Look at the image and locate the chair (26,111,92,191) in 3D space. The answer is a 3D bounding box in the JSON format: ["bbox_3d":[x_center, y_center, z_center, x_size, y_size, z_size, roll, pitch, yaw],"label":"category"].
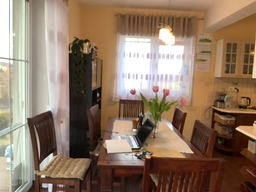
[{"bbox_3d":[-0.700,0.690,2.230,0.520,0.960,0.460,3,6,1],"label":"chair"}]

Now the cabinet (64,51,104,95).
[{"bbox_3d":[-0.710,-0.400,3.680,0.450,0.610,1.270,3,6,-2],"label":"cabinet"}]

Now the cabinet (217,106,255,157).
[{"bbox_3d":[2.160,0.680,4.190,0.460,0.850,0.590,3,6,-3],"label":"cabinet"}]

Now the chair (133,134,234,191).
[{"bbox_3d":[0.290,0.820,1.460,0.510,0.950,0.550,3,6,0],"label":"chair"}]

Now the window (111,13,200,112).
[{"bbox_3d":[0.530,-0.640,4.320,1.660,1.860,0.270,3,6,-4],"label":"window"}]
